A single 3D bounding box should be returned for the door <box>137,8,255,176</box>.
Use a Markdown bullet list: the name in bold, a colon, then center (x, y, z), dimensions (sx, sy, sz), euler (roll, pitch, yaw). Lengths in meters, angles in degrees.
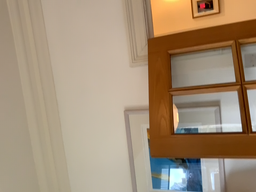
- **door**: center (1.050, -0.070, 1.010), dimensions (0.140, 2.060, 0.880), euler (35, -127, -65)
